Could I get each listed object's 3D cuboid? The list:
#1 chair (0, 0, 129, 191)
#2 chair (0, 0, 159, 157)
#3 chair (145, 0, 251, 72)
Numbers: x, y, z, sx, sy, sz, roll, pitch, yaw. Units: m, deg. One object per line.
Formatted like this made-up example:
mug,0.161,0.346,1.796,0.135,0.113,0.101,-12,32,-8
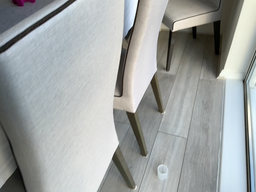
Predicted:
chair,-0.360,0.180,0.760,0.590,1.020,0.490,7,43,12
chair,-0.170,-0.210,1.180,0.590,1.020,0.500,7,43,12
chair,0.590,-0.840,1.830,0.740,1.020,0.480,-17,44,-15
